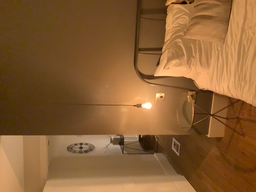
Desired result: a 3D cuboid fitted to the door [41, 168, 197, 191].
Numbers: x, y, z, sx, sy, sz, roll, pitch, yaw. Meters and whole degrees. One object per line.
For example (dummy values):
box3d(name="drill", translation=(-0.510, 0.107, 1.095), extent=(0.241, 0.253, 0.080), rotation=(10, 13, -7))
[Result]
box3d(name="door", translation=(-0.100, 1.210, 2.820), extent=(0.860, 1.970, 0.030), rotation=(-137, 50, -77))
